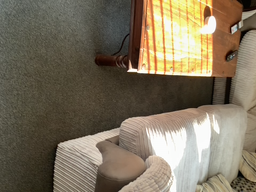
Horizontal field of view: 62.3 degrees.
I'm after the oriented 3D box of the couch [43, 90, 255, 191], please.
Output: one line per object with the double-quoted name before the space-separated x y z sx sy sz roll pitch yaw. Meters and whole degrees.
"couch" 0.870 0.670 1.910 2.940 0.870 1.250 -5 102 -45
